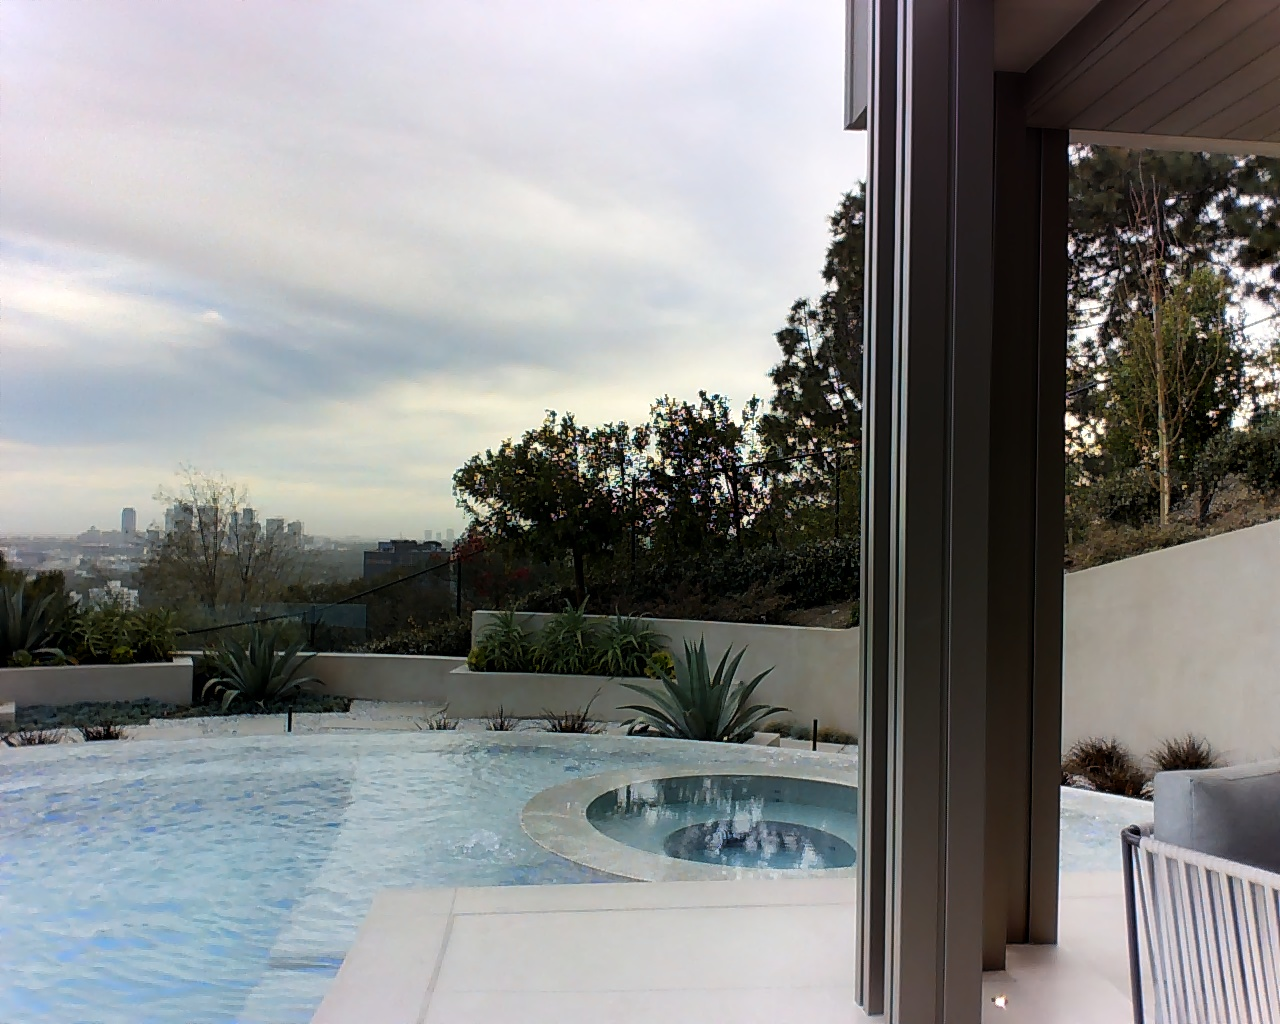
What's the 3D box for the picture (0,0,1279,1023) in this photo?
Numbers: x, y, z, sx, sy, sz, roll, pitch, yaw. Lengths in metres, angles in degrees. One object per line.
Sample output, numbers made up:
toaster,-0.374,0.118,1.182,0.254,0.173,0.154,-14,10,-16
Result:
picture,0.250,-0.100,1.870,2.700,3.330,5.400,1,-1,3
